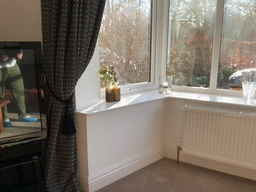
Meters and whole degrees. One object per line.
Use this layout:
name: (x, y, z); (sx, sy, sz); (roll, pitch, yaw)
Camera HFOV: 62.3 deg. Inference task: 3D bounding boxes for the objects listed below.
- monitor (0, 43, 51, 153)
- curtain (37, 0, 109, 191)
monitor: (-1.150, 0.060, 1.330); (1.200, 0.760, 0.050); (-7, 14, -29)
curtain: (-0.440, -0.330, 1.670); (0.570, 2.360, 0.130); (8, 15, 32)
